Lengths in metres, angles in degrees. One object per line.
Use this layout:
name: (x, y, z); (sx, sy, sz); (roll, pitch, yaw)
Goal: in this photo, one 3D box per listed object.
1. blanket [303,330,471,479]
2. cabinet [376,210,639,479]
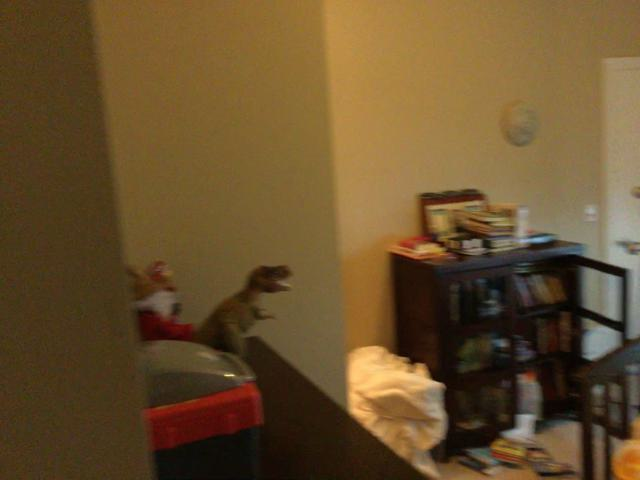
blanket: (0.310, 0.810, 2.840); (0.570, 0.500, 0.570); (-10, 8, -20)
cabinet: (0.990, 0.480, 2.900); (1.020, 1.100, 0.850); (-10, 8, -20)
